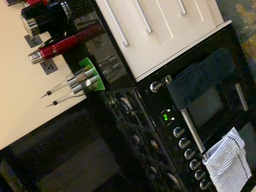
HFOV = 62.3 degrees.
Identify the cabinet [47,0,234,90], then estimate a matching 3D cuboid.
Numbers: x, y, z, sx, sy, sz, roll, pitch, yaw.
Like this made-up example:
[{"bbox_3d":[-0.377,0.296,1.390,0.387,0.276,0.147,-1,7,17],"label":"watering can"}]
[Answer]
[{"bbox_3d":[0.010,-0.730,1.420,1.040,0.910,0.580,61,156,-13],"label":"cabinet"}]
